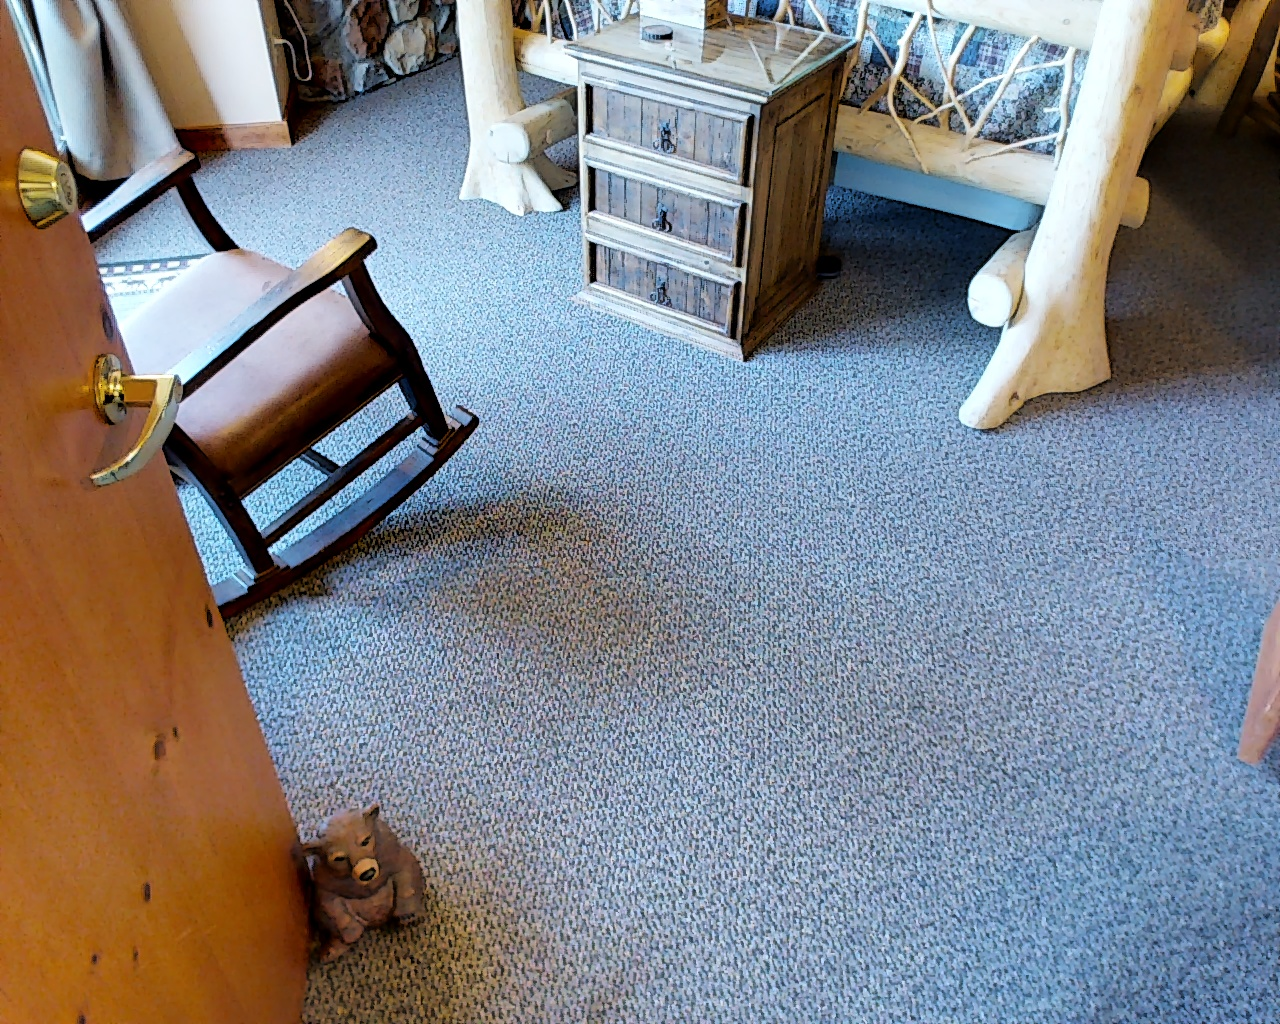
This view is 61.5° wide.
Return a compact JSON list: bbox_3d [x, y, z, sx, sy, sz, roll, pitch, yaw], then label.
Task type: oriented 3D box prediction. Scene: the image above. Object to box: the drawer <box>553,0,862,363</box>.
[{"bbox_3d":[0.170,-0.910,2.880,0.590,0.730,0.490,23,46,24],"label":"drawer"}]
